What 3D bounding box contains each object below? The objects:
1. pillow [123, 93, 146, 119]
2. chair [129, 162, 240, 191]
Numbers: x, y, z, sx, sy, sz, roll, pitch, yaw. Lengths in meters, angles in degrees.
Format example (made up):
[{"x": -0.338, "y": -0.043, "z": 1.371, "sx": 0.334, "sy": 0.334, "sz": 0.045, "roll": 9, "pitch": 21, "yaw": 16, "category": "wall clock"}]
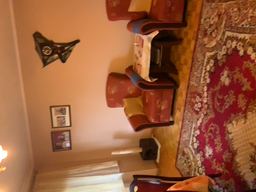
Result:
[{"x": 0.100, "y": 0.170, "z": 3.690, "sx": 0.200, "sy": 0.300, "sz": 0.410, "roll": 101, "pitch": 162, "yaw": -45, "category": "pillow"}, {"x": 0.540, "y": 1.070, "z": 2.230, "sx": 0.510, "sy": 0.970, "sz": 0.430, "roll": -128, "pitch": 38, "yaw": -69, "category": "chair"}]
